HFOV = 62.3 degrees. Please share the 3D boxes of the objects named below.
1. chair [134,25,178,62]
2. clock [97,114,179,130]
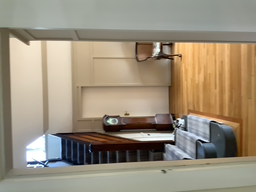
[{"bbox_3d":[0.540,-1.040,4.310,0.660,0.750,0.570,-175,85,-83],"label":"chair"},{"bbox_3d":[0.200,0.550,4.480,0.350,1.670,0.290,139,131,-80],"label":"clock"}]
